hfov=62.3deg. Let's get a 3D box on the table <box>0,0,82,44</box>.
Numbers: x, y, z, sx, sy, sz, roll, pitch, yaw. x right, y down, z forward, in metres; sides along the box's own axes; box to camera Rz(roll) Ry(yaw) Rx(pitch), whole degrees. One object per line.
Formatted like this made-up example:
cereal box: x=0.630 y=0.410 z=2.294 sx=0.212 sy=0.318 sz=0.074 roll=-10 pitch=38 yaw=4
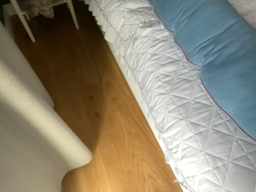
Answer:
table: x=-0.680 y=-0.820 z=1.490 sx=0.480 sy=0.690 sz=0.400 roll=-20 pitch=61 yaw=-11
